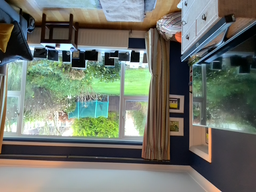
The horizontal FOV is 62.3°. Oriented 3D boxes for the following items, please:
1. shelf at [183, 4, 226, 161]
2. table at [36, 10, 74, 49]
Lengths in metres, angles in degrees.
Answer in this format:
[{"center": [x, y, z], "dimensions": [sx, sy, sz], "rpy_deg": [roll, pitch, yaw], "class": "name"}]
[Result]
[{"center": [1.120, -0.170, 3.210], "dimensions": [0.290, 2.060, 0.900], "rpy_deg": [2, 176, -1], "class": "shelf"}, {"center": [-1.140, -1.040, 3.350], "dimensions": [0.450, 0.470, 0.380], "rpy_deg": [2, 176, 0], "class": "table"}]
